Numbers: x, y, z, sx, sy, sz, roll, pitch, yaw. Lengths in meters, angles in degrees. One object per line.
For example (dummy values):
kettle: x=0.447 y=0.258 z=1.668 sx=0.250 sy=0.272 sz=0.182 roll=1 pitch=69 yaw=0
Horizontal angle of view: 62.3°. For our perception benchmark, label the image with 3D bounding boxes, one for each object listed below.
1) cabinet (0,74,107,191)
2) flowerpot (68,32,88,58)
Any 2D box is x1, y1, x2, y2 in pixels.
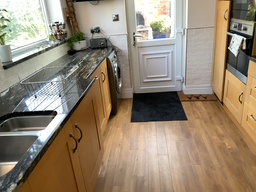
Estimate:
cabinet: x=-0.650 y=0.470 z=1.440 sx=0.700 sy=0.870 sz=1.250 roll=-2 pitch=23 yaw=7
flowerpot: x=-0.760 y=-0.770 z=3.200 sx=0.230 sy=0.330 sz=0.220 roll=-10 pitch=24 yaw=-12
